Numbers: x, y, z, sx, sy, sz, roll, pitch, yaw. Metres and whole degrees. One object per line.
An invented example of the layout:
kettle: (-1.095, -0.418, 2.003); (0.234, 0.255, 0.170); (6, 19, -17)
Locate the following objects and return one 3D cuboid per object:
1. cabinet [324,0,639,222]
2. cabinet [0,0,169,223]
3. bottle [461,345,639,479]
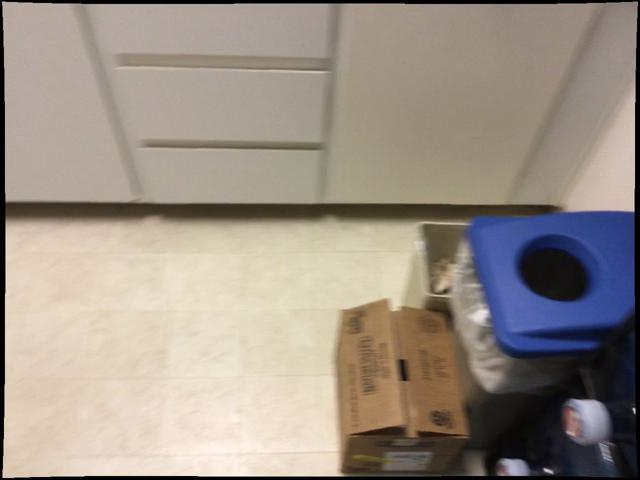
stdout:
cabinet: (0.420, -0.320, 1.560); (0.769, 0.810, 0.070); (0, 55, -4)
cabinet: (-0.819, -0.320, 1.480); (0.709, 0.830, 0.070); (0, 55, -4)
bottle: (0.440, 0.410, 1.030); (0.220, 0.440, 0.280); (0, 55, -4)
